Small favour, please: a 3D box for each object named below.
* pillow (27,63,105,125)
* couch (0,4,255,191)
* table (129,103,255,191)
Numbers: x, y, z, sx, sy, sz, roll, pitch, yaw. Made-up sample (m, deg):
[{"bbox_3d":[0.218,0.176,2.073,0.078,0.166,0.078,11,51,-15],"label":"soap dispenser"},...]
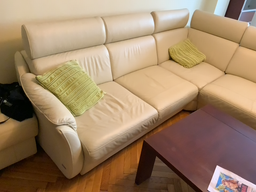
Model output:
[{"bbox_3d":[-0.490,-0.020,1.660,0.450,0.400,0.200,-28,84,-41],"label":"pillow"},{"bbox_3d":[0.190,-0.300,2.290,2.590,0.980,1.040,-24,45,-39],"label":"couch"},{"bbox_3d":[0.600,0.570,1.520,0.810,0.490,0.800,-21,43,-36],"label":"table"}]
